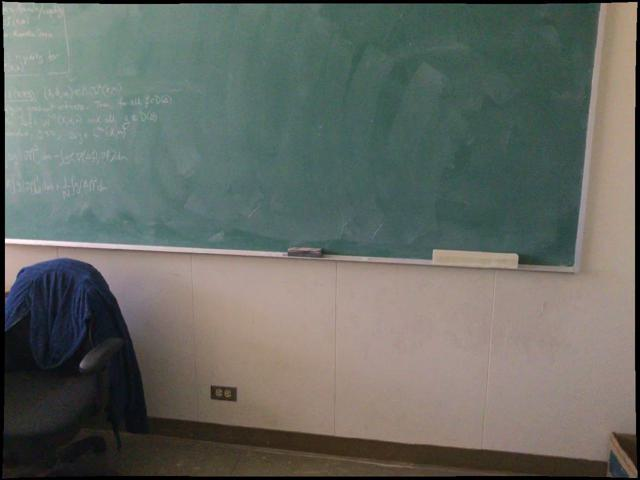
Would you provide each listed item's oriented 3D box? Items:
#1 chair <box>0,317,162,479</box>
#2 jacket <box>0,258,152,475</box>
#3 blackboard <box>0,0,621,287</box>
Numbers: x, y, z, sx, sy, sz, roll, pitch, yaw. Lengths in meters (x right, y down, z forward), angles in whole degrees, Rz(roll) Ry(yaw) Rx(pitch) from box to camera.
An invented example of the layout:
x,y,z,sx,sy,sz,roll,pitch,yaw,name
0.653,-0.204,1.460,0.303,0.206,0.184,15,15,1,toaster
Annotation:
x,y,z,sx,sy,sz,roll,pitch,yaw,name
-1.057,0.712,2.200,0.648,0.652,0.550,1,13,11,chair
-1.037,0.501,2.360,0.539,0.802,0.270,1,13,11,jacket
-0.269,-0.501,2.210,2.534,1.293,0.170,1,13,11,blackboard
